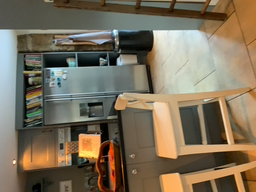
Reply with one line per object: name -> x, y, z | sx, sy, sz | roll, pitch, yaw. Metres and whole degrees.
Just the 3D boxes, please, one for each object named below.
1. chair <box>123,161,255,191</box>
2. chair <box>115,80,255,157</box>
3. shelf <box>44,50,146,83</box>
chair -> 0.460, 0.700, 1.380 | 0.390, 0.890, 0.420 | 120, 145, -69
chair -> 0.390, 0.170, 1.550 | 0.390, 0.890, 0.420 | 120, 145, -69
shelf -> -0.610, -0.560, 4.040 | 0.710, 1.740, 0.300 | 122, 142, -70
